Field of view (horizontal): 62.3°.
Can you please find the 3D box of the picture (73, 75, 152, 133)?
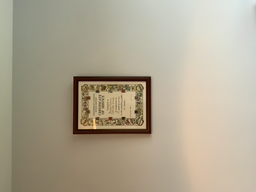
[{"bbox_3d":[-0.090,0.050,1.260,0.020,0.460,0.340,-54,-37,-87],"label":"picture"}]
